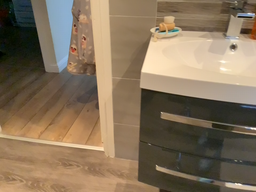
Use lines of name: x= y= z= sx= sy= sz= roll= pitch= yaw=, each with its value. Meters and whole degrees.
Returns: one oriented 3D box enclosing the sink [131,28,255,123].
sink: x=0.370 y=-0.100 z=0.720 sx=0.650 sy=0.110 sz=0.480 roll=5 pitch=32 yaw=8
